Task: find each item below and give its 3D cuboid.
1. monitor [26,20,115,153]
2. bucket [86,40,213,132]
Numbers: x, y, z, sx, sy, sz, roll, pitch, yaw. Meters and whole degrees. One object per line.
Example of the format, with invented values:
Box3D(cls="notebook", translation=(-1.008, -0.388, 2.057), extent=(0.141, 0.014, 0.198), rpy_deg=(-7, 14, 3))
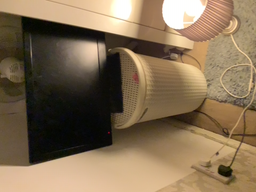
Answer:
Box3D(cls="monitor", translation=(-0.220, -0.040, 0.900), extent=(0.030, 0.370, 0.480), rpy_deg=(-4, 88, 48))
Box3D(cls="bucket", translation=(0.130, -0.080, 1.240), extent=(0.410, 0.580, 0.380), rpy_deg=(19, 106, 46))
